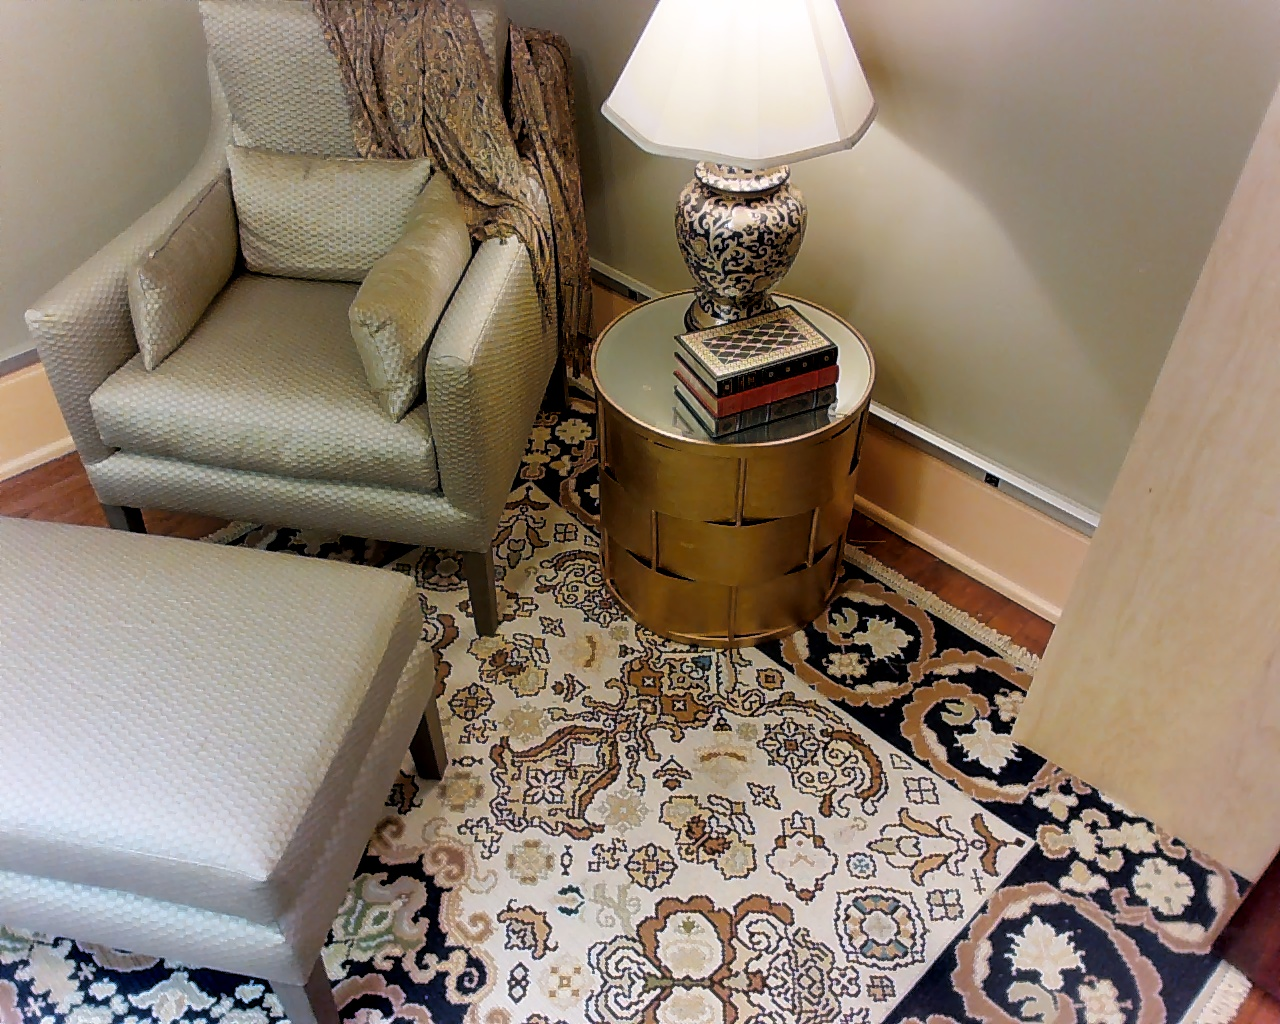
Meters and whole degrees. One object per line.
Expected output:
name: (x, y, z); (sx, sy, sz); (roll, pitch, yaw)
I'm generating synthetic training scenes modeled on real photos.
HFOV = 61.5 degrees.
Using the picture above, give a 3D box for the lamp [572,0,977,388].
lamp: (0.190, -0.560, 1.760); (0.500, 0.520, 0.330); (-15, 44, -16)

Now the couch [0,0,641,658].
couch: (-0.560, -0.550, 2.130); (0.940, 1.170, 1.020); (8, 42, 9)
